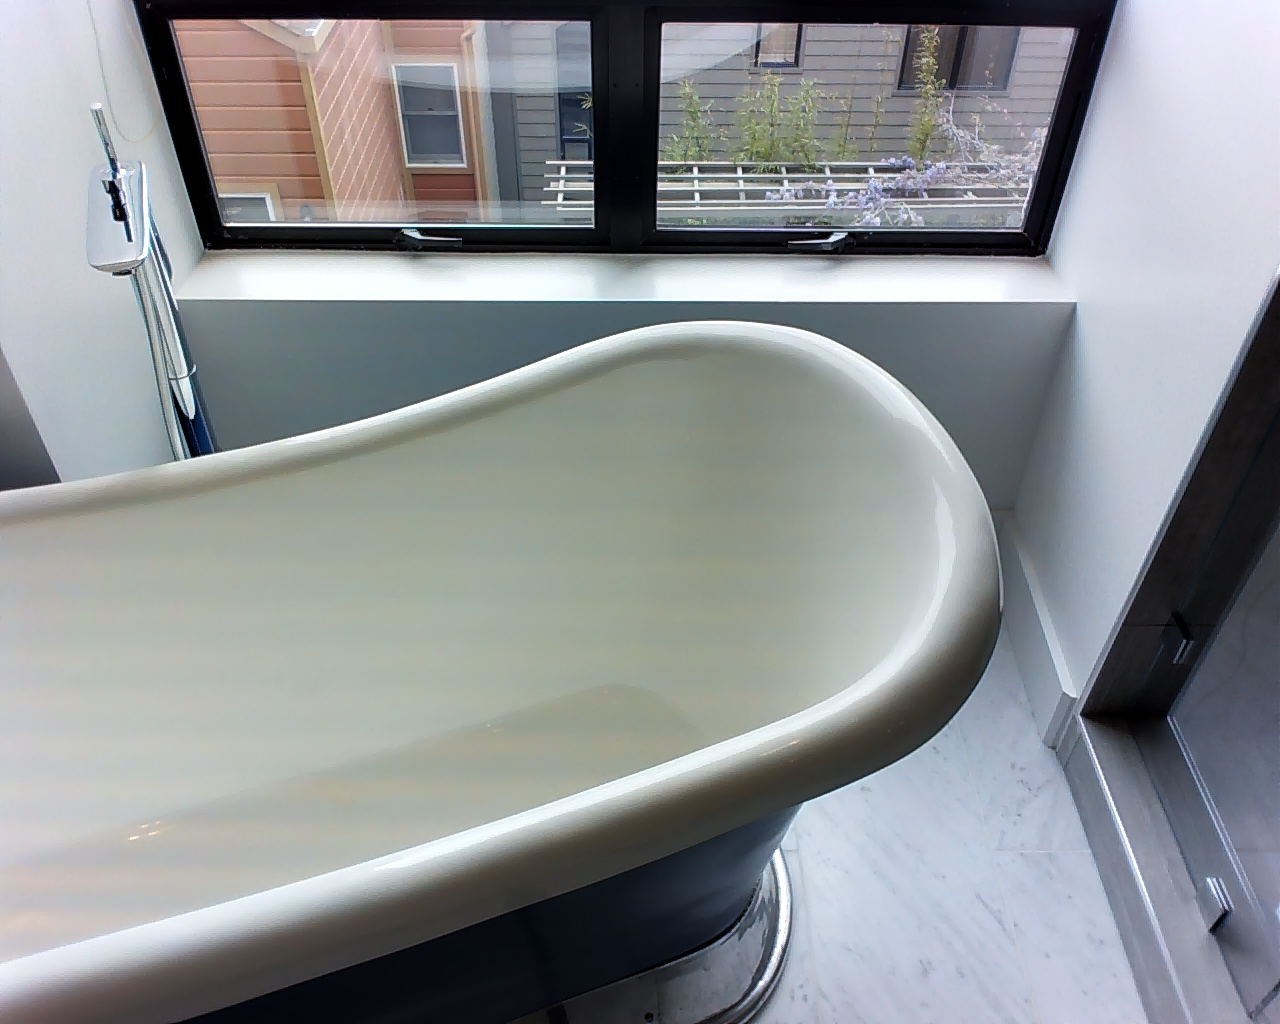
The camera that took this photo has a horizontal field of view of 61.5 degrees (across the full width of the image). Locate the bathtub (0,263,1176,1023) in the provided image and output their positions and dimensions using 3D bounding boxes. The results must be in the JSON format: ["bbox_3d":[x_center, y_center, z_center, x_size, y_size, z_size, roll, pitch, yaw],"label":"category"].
[{"bbox_3d":[-0.400,0.370,1.280,1.610,0.810,0.730,-14,43,-16],"label":"bathtub"}]

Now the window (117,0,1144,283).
[{"bbox_3d":[-0.010,-0.920,1.470,1.490,1.300,0.100,0,41,-1],"label":"window"}]
